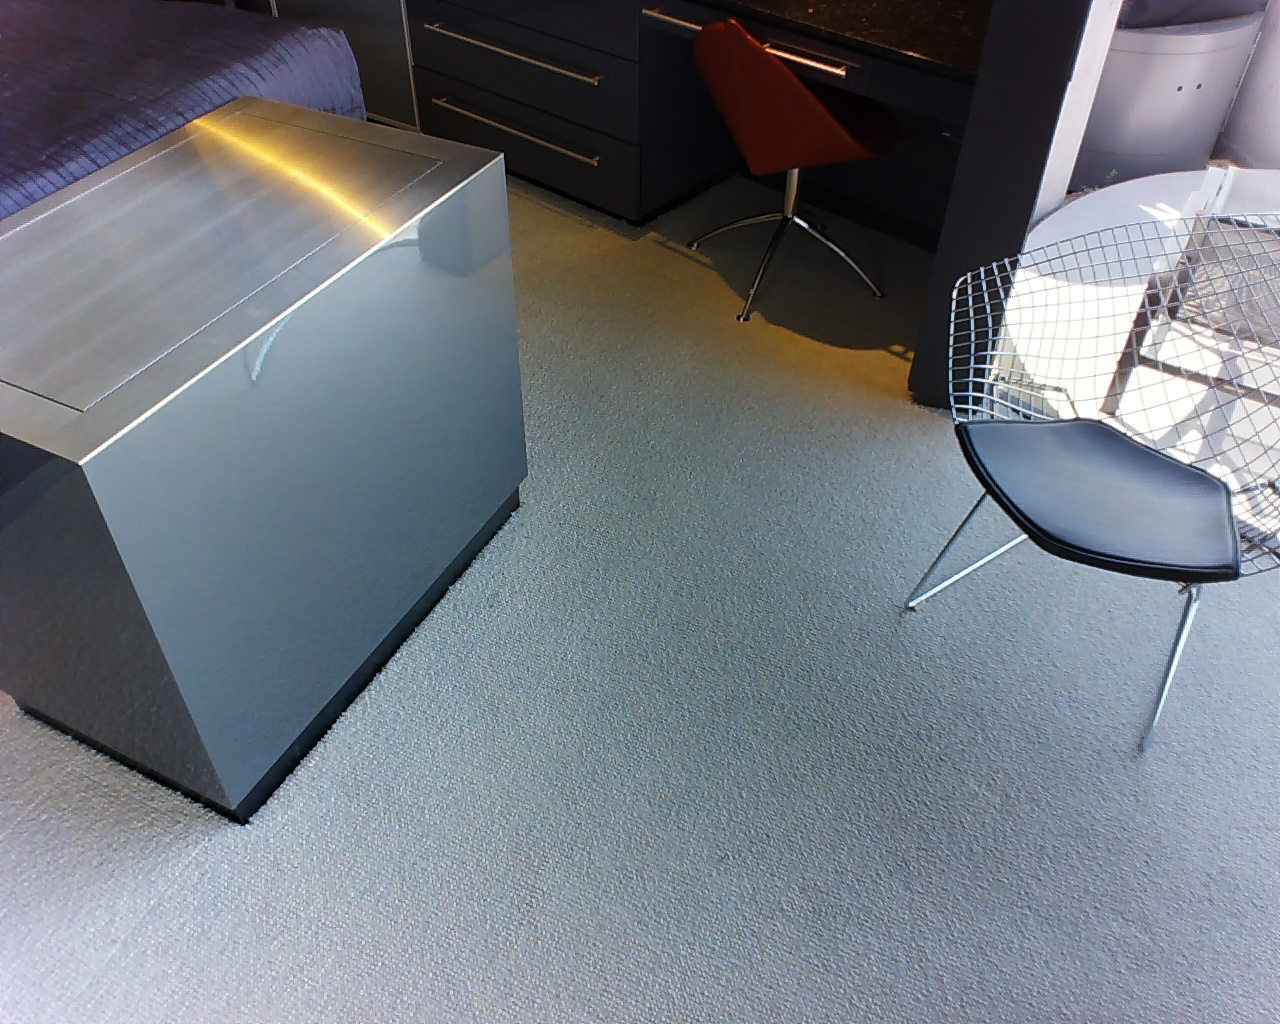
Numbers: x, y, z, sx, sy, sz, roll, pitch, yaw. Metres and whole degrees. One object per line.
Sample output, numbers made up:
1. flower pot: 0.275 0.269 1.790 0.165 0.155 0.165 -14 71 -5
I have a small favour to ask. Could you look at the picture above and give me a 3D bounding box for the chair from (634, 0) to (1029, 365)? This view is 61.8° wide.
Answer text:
1. chair: 0.490 -1.030 2.930 0.730 0.820 0.700 28 49 26
